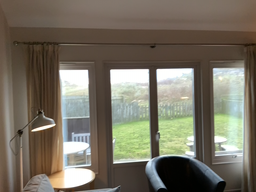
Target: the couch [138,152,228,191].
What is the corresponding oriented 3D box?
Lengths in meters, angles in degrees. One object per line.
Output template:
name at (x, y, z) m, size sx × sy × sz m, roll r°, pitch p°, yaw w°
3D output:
couch at (0.610, 1.170, 2.580) m, size 0.810 × 0.700 × 0.760 m, roll -2°, pitch 1°, yaw -11°
